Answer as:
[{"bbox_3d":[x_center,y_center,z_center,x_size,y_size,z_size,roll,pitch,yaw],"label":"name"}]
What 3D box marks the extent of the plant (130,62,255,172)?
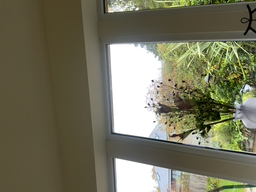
[{"bbox_3d":[0.510,0.060,1.430,0.610,0.830,0.520,-28,-60,-66],"label":"plant"}]
